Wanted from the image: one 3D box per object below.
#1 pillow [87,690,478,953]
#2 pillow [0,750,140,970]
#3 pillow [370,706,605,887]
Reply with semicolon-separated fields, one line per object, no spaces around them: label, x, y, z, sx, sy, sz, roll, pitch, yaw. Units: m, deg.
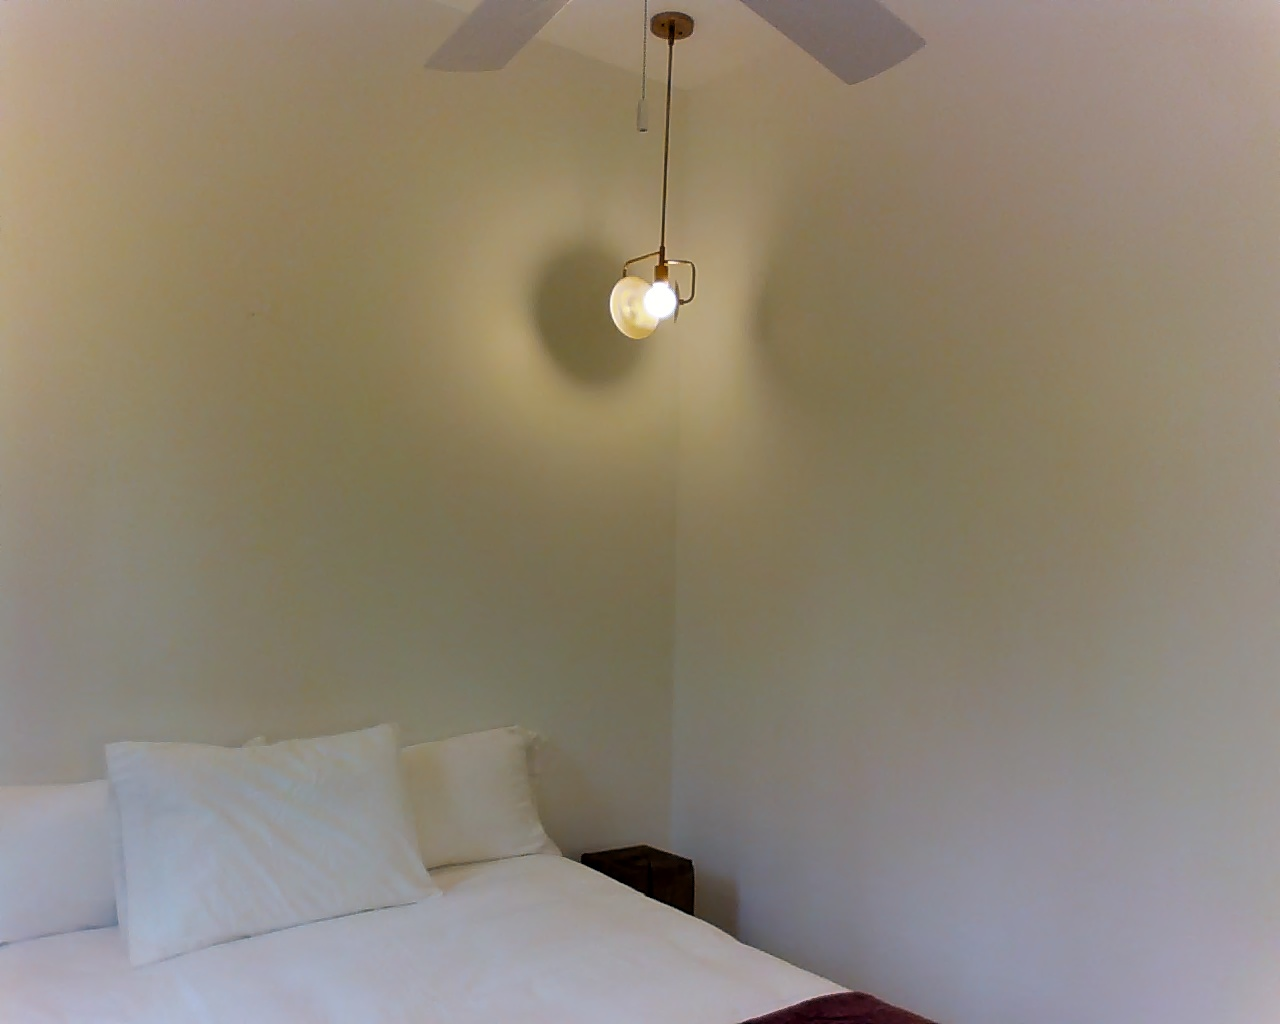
pillow;-0.830;0.670;2.510;0.730;0.400;0.500;3;-2;-37
pillow;-1.350;0.720;2.230;0.500;0.350;0.320;3;-2;-37
pillow;-0.410;0.750;2.930;0.540;0.360;0.310;3;-2;-38
